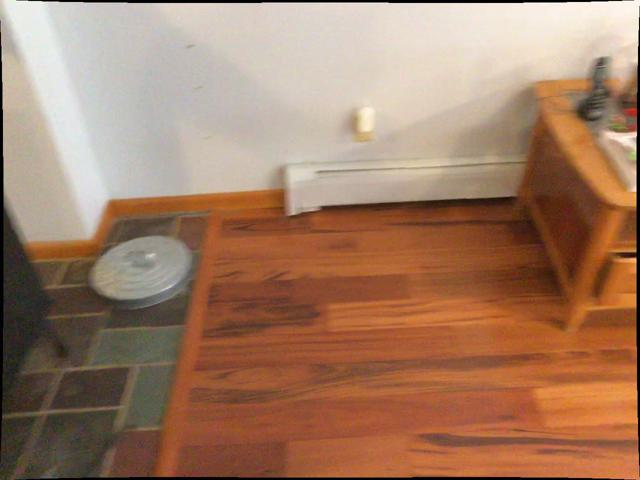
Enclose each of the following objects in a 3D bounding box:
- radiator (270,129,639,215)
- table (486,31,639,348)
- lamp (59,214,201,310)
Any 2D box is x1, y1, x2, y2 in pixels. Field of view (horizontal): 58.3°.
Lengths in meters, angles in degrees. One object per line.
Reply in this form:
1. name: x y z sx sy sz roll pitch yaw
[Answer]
1. radiator: 1.749 -0.330 2.310 3.877 0.230 0.140 -3 39 -1
2. table: 1.319 -0.220 1.860 1.249 0.640 0.840 -3 39 -1
3. lamp: -0.659 0.070 2.060 0.400 0.090 0.390 -3 39 -1
